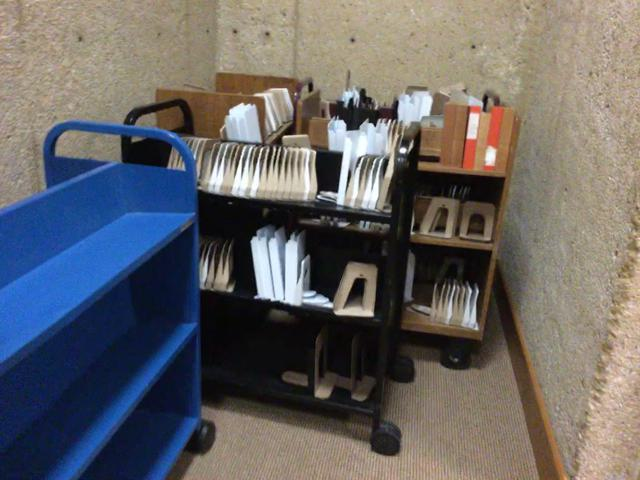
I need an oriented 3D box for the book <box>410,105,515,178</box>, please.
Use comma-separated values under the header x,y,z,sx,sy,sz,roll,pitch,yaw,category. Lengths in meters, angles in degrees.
x,y,z,sx,sy,sz,roll,pitch,yaw,category
0.510,-0.360,2.100,0.340,0.230,0.110,5,22,9,book
